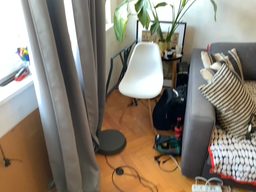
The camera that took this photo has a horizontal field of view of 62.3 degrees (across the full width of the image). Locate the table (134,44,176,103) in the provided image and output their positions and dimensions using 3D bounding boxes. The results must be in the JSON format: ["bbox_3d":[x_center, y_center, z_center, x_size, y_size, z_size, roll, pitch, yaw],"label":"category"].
[{"bbox_3d":[0.360,-0.310,2.880,0.480,0.670,0.350,8,31,13],"label":"table"}]

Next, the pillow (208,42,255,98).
[{"bbox_3d":[1.100,-0.260,2.210,0.230,0.390,0.390,40,75,21],"label":"pillow"}]
